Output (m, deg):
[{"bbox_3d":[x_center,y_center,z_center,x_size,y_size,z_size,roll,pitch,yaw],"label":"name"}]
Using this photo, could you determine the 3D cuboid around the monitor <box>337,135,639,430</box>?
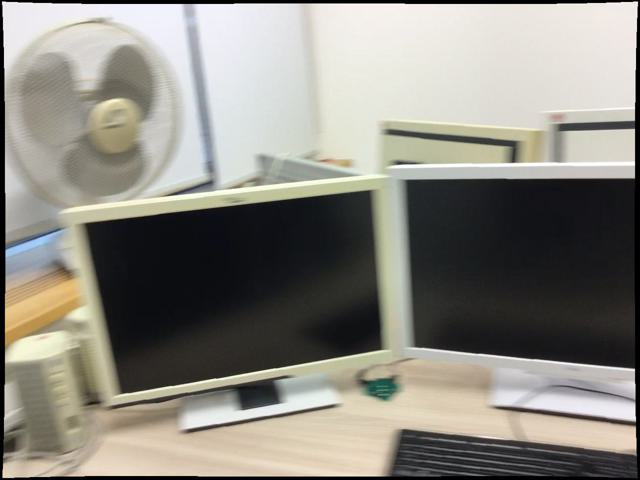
[{"bbox_3d":[0.420,0.070,1.040,0.709,0.470,0.180,0,18,22],"label":"monitor"}]

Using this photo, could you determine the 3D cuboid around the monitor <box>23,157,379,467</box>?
[{"bbox_3d":[-0.200,0.120,1.150,0.559,0.470,0.250,-8,18,-8],"label":"monitor"}]
